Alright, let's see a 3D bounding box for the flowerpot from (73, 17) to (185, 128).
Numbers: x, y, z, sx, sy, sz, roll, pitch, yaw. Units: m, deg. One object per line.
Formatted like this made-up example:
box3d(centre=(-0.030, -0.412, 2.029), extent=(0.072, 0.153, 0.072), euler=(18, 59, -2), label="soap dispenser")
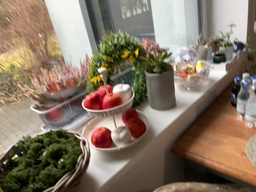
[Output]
box3d(centre=(0.030, -0.140, 1.040), extent=(0.330, 0.380, 0.370), euler=(12, 35, 40), label="flowerpot")
